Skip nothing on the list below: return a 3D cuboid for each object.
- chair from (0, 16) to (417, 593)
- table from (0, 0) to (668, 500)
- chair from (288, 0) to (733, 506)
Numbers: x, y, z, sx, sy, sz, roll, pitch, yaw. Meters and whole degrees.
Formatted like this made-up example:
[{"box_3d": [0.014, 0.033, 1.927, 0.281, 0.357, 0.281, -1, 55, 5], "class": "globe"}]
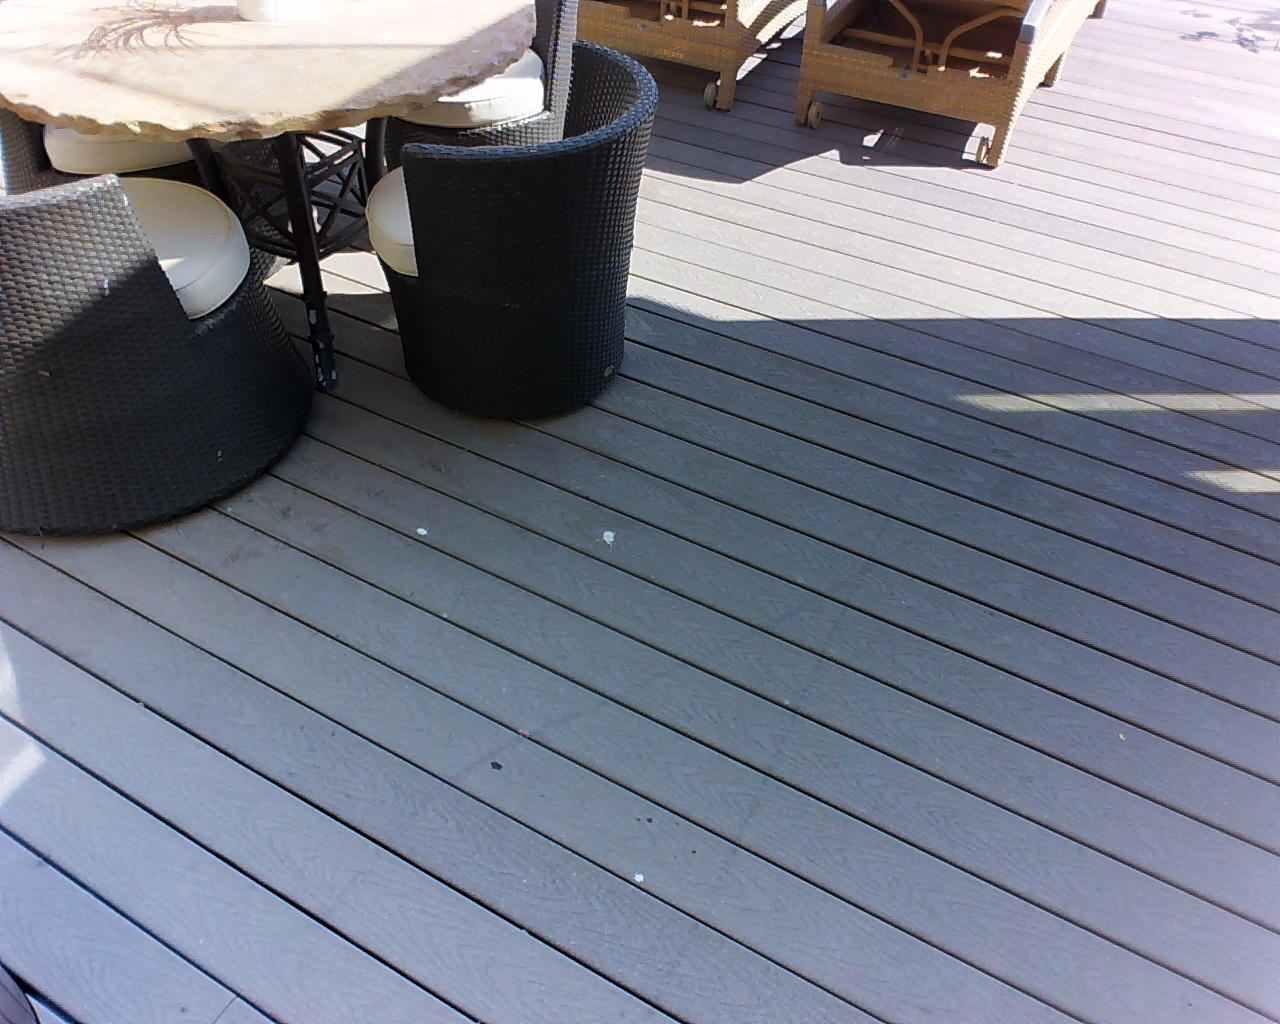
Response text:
[{"box_3d": [-1.160, -0.510, 2.350, 0.940, 0.700, 1.040, 9, 42, 8], "class": "chair"}, {"box_3d": [-0.790, -0.900, 2.670, 1.110, 0.810, 1.310, -27, 49, -28], "class": "table"}, {"box_3d": [-0.270, -0.610, 2.440, 0.640, 0.800, 0.630, -32, 52, -32], "class": "chair"}]
